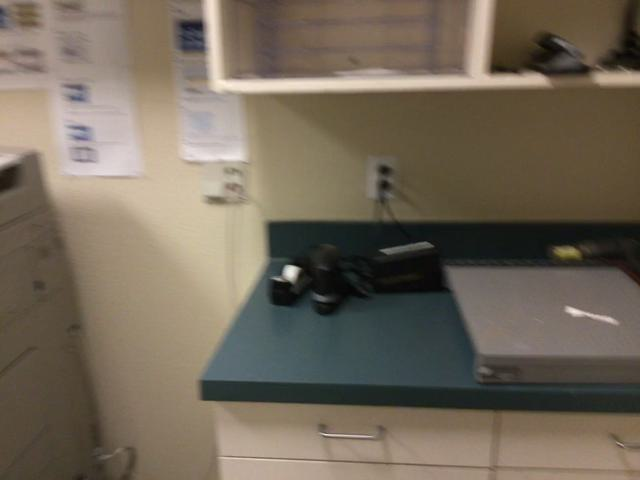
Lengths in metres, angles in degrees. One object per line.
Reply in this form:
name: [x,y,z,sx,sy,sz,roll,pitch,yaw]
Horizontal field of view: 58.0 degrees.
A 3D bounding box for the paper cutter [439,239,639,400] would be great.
paper cutter: [0.500,0.120,1.090,0.490,0.110,0.490,0,16,6]
